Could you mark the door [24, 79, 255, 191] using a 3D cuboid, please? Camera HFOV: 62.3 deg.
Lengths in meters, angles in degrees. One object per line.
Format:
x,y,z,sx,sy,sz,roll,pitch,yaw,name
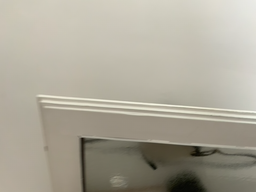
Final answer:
0.630,0.470,1.040,0.130,2.020,1.010,-90,4,-59,door
